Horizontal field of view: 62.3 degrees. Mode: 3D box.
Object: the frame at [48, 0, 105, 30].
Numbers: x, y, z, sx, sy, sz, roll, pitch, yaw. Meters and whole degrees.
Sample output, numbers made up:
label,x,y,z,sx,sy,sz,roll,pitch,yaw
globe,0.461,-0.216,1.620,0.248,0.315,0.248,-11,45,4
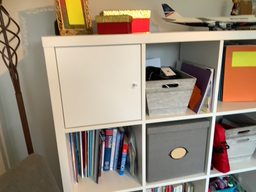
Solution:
label,x,y,z,sx,sy,sz,roll,pitch,yaw
frame,-0.230,-0.420,0.970,0.220,0.220,0.230,-4,18,-10
